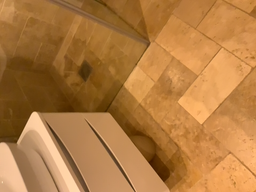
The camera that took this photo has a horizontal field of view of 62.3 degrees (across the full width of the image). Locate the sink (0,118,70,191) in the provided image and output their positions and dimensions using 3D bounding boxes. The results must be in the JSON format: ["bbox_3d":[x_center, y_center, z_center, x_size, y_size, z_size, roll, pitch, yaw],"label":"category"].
[{"bbox_3d":[-0.430,0.410,0.860,0.510,0.120,0.390,47,114,29],"label":"sink"}]
